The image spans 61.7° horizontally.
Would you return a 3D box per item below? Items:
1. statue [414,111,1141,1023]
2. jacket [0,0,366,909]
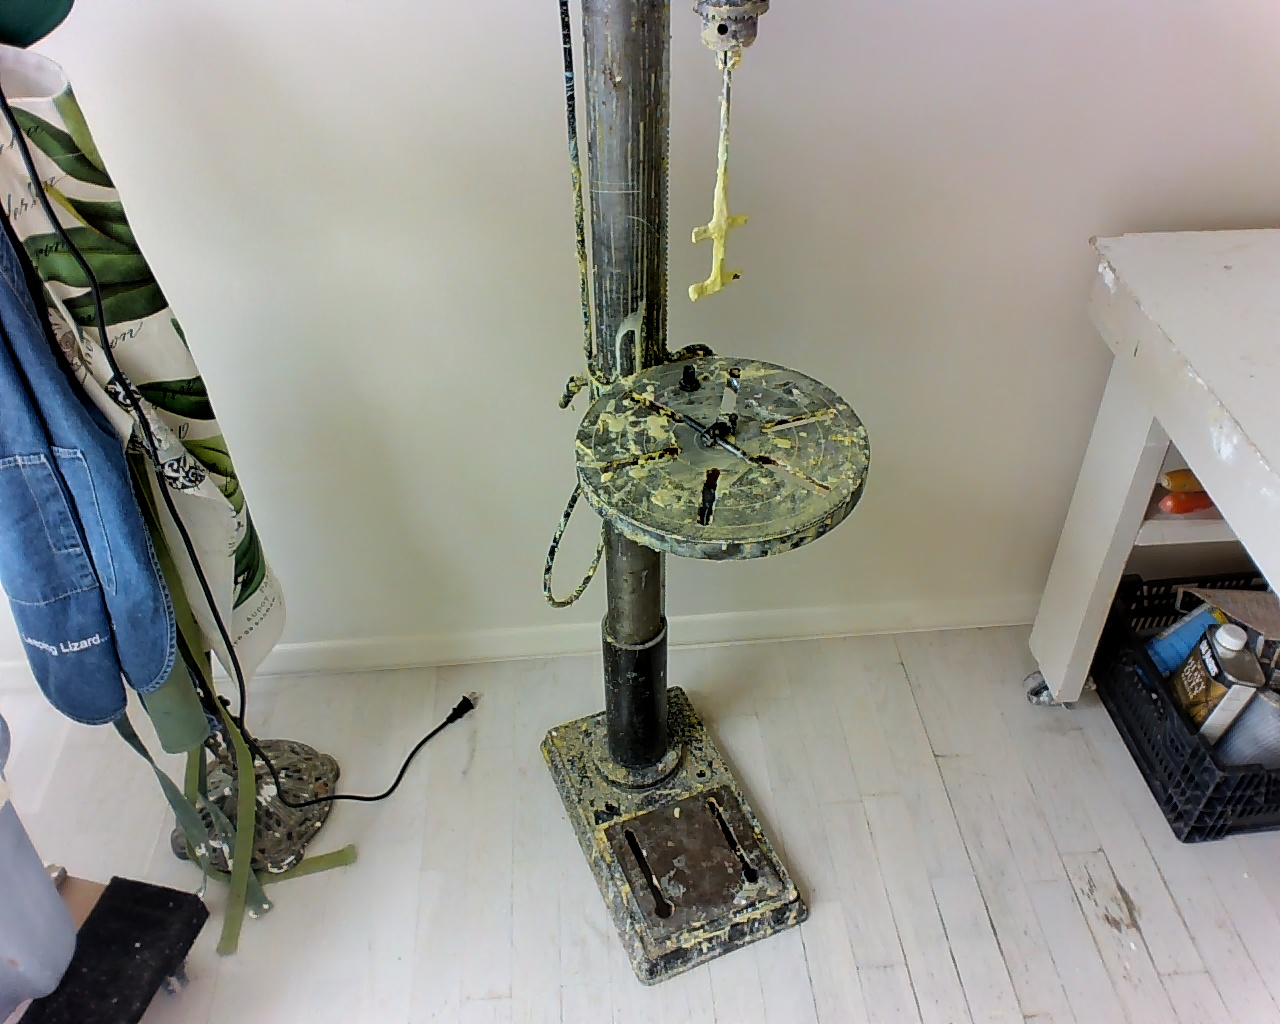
[{"bbox_3d":[0.070,0.120,1.320,0.510,0.930,0.730,-5,41,-4],"label":"statue"},{"bbox_3d":[-0.640,0.030,1.320,0.350,1.150,0.330,-3,41,-3],"label":"jacket"}]
